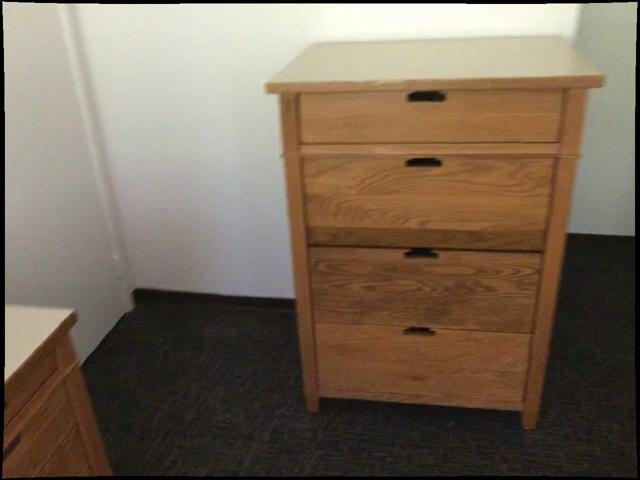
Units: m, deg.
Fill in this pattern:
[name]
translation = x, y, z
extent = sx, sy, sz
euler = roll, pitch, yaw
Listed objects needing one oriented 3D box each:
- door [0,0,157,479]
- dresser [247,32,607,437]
[door]
translation = -0.918, -0.060, 1.890
extent = 0.070, 1.293, 0.980
euler = 1, 29, 12
[dresser]
translation = 0.319, -0.030, 1.830
extent = 0.808, 1.062, 0.620
euler = 1, 29, 12
